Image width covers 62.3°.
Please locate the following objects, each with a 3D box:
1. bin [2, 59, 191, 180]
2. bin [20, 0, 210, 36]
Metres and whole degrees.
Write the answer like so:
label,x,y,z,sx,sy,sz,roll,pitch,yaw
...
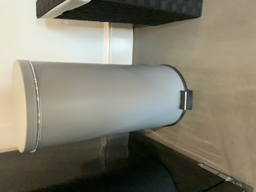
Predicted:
label,x,y,z,sx,sy,sz,roll,pitch,yaw
bin,-0.110,0.020,0.840,0.350,0.630,0.300,15,105,53
bin,-0.060,-0.450,0.800,0.470,0.560,0.330,13,104,53
